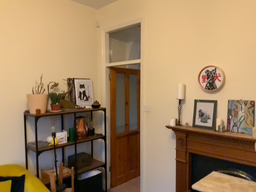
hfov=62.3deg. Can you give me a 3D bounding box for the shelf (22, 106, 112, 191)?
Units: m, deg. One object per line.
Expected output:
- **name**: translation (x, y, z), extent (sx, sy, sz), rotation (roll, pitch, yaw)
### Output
- **shelf**: translation (-0.780, 0.840, 2.920), extent (1.160, 1.320, 0.330), rotation (-2, 3, -45)
